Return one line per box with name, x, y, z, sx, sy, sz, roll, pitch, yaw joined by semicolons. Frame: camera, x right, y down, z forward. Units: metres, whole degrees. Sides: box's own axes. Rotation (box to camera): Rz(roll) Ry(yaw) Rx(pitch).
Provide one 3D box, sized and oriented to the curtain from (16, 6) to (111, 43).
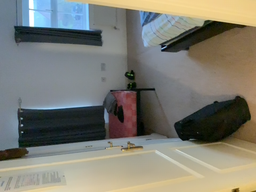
curtain;-1.020;-1.170;3.550;0.090;1.500;0.420;-168;77;-68
